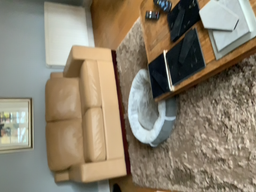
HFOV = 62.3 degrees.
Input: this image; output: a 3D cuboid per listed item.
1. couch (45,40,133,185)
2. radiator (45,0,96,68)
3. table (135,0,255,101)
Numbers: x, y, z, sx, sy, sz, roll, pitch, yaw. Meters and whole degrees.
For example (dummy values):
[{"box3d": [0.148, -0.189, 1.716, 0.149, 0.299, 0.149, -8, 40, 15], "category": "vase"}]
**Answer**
[{"box3d": [-0.620, 0.240, 2.850, 0.990, 0.820, 1.570, 144, 121, -60], "category": "couch"}, {"box3d": [-0.980, -1.040, 3.580, 0.120, 0.740, 1.160, 144, 121, -60], "category": "radiator"}, {"box3d": [0.420, -0.470, 1.230, 0.870, 0.300, 0.780, 143, 122, -60], "category": "table"}]
